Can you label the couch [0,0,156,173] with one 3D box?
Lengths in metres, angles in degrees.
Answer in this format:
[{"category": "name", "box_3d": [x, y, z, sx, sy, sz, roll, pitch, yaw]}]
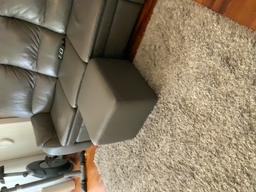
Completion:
[{"category": "couch", "box_3d": [-0.730, -0.360, 2.100, 0.980, 0.990, 2.030, 54, 132, 37]}]
